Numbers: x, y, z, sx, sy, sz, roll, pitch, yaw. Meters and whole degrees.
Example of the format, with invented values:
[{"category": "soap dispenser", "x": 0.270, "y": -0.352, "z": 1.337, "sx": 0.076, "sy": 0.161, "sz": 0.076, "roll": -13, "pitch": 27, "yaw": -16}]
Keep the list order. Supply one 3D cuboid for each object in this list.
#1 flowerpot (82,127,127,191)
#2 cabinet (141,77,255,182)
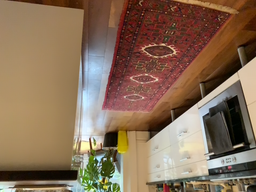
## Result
[{"category": "flowerpot", "x": -0.440, "y": 1.200, "z": 3.860, "sx": 0.650, "sy": 1.070, "sz": 0.740, "roll": 5, "pitch": 156, "yaw": -15}, {"category": "cabinet", "x": 0.750, "y": 0.660, "z": 2.920, "sx": 0.600, "sy": 0.920, "sz": 2.130, "roll": 3, "pitch": 157, "yaw": -10}]
